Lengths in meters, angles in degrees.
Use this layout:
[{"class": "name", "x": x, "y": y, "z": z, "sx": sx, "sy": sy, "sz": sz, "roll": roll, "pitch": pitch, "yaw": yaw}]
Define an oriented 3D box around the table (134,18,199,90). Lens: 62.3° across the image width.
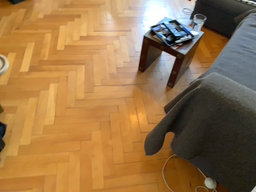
[{"class": "table", "x": 0.320, "y": -0.360, "z": 1.820, "sx": 0.360, "sy": 0.370, "sz": 0.360, "roll": 29, "pitch": 55, "yaw": 16}]
